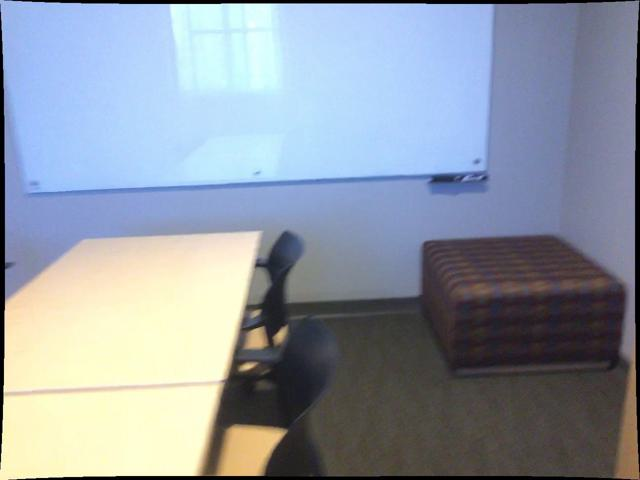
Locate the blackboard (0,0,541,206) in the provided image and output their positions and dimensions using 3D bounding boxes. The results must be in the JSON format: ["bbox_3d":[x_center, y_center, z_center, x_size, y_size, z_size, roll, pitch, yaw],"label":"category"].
[{"bbox_3d":[-0.250,-0.901,2.780,2.606,1.362,0.110,-3,18,-3],"label":"blackboard"}]
